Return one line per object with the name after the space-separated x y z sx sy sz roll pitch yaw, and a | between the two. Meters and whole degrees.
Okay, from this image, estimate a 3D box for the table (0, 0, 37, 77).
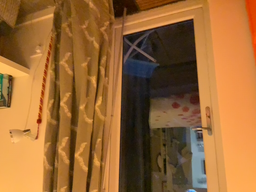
-1.190 -0.600 1.670 0.380 0.660 0.750 -5 163 21 | table
